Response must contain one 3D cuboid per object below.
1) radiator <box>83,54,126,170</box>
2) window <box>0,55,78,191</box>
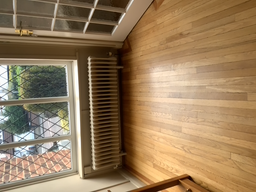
[{"bbox_3d":[-0.310,0.190,2.830,0.140,0.450,1.450,-5,89,61],"label":"radiator"},{"bbox_3d":[-1.480,0.340,2.470,0.200,1.670,1.600,-1,92,61],"label":"window"}]
